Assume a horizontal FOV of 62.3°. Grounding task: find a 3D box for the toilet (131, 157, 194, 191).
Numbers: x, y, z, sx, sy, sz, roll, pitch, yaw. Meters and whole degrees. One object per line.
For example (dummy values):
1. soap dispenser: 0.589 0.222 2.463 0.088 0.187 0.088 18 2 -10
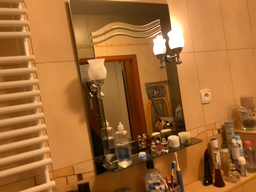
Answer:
1. toilet: 0.170 0.440 1.040 0.240 0.180 0.160 -10 2 -25
